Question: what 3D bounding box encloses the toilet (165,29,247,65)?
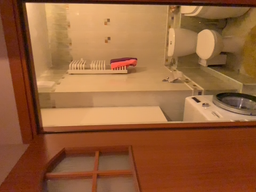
[{"bbox_3d":[0.970,-0.670,2.810,0.670,0.770,0.370,-102,13,-69],"label":"toilet"}]
